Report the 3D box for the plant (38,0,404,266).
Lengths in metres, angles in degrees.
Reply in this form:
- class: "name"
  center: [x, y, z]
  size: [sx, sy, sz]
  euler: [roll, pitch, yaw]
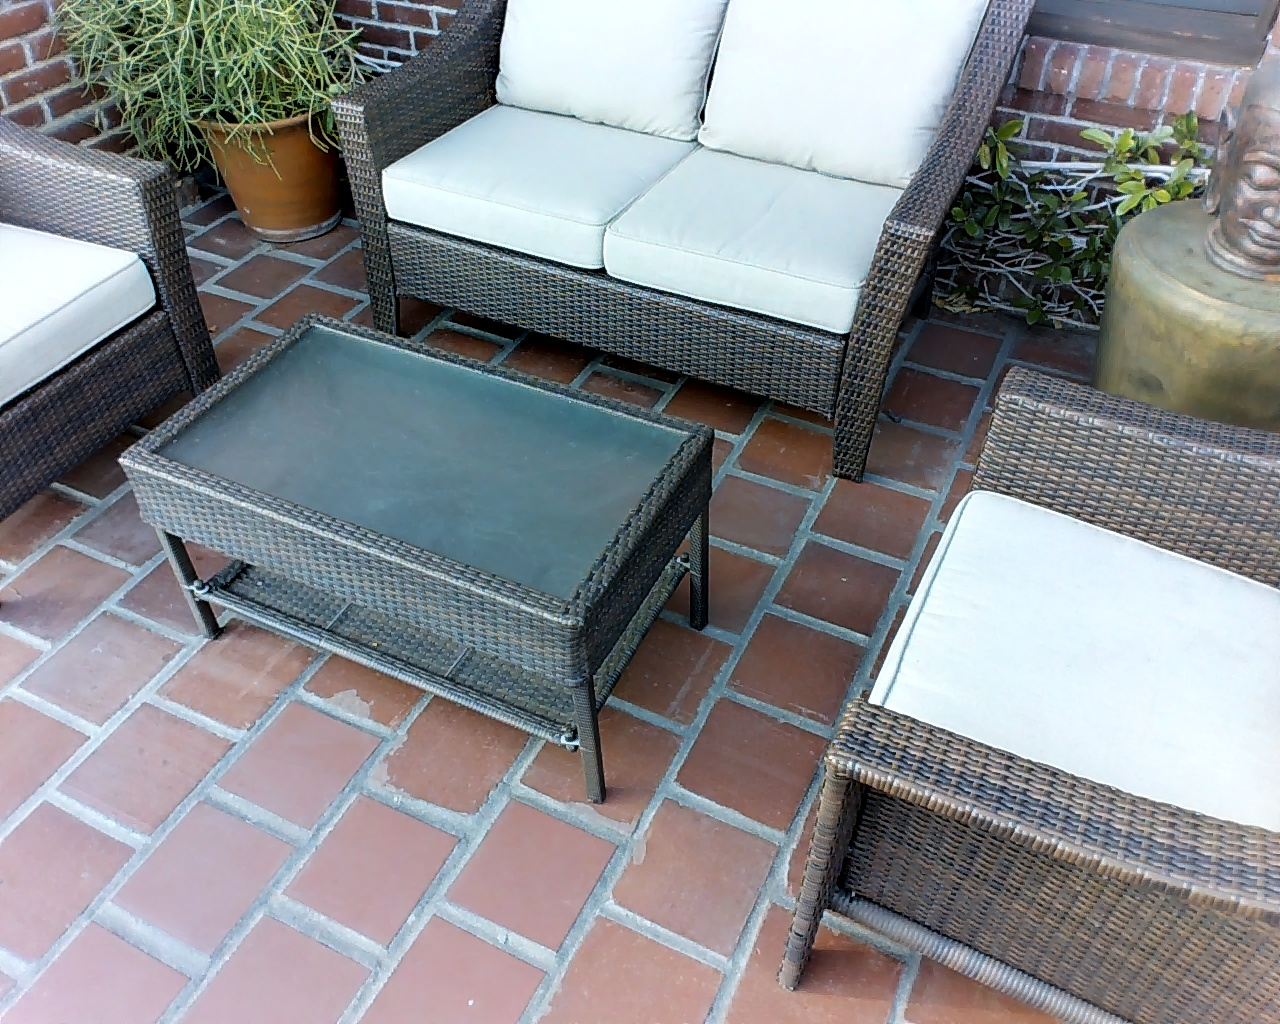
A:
- class: "plant"
  center: [-1.170, -1.290, 3.060]
  size: [0.780, 0.900, 0.540]
  euler: [-12, 44, -14]
